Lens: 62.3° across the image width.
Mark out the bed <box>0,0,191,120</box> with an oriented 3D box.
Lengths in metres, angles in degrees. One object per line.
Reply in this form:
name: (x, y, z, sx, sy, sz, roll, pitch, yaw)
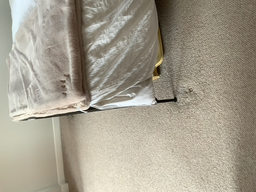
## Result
bed: (-0.550, -1.020, 1.680, 1.720, 0.580, 2.310, -11, 84, 51)
